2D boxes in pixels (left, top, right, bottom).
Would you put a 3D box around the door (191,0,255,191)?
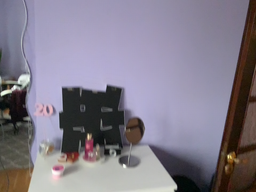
[{"bbox_3d":[0.820,0.190,1.310,0.830,1.970,0.160,-3,17,-29],"label":"door"}]
